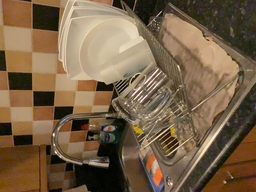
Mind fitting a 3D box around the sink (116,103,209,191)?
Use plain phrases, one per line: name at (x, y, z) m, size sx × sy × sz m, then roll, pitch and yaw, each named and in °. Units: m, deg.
sink at (0.120, 0.360, 1.110) m, size 0.510 × 0.160 × 0.410 m, roll -116°, pitch 35°, yaw -47°
